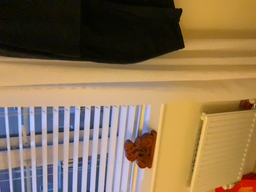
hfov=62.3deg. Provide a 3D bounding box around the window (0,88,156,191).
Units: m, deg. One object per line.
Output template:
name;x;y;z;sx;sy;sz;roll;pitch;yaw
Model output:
window;-0.410;0.440;0.990;0.060;1.080;0.950;-143;55;-58

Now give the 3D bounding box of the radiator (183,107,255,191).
radiator;0.580;0.360;1.290;0.100;0.470;0.550;-153;64;-61

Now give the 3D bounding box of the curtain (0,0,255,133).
curtain;0.030;-0.110;0.810;0.200;2.140;0.340;-146;58;-59
